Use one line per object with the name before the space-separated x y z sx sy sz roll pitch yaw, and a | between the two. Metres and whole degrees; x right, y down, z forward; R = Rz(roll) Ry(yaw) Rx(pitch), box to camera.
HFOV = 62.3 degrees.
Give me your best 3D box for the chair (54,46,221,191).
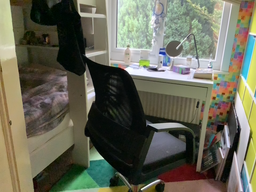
chair | 0.050 0.260 1.190 0.530 0.970 0.630 19 25 39
